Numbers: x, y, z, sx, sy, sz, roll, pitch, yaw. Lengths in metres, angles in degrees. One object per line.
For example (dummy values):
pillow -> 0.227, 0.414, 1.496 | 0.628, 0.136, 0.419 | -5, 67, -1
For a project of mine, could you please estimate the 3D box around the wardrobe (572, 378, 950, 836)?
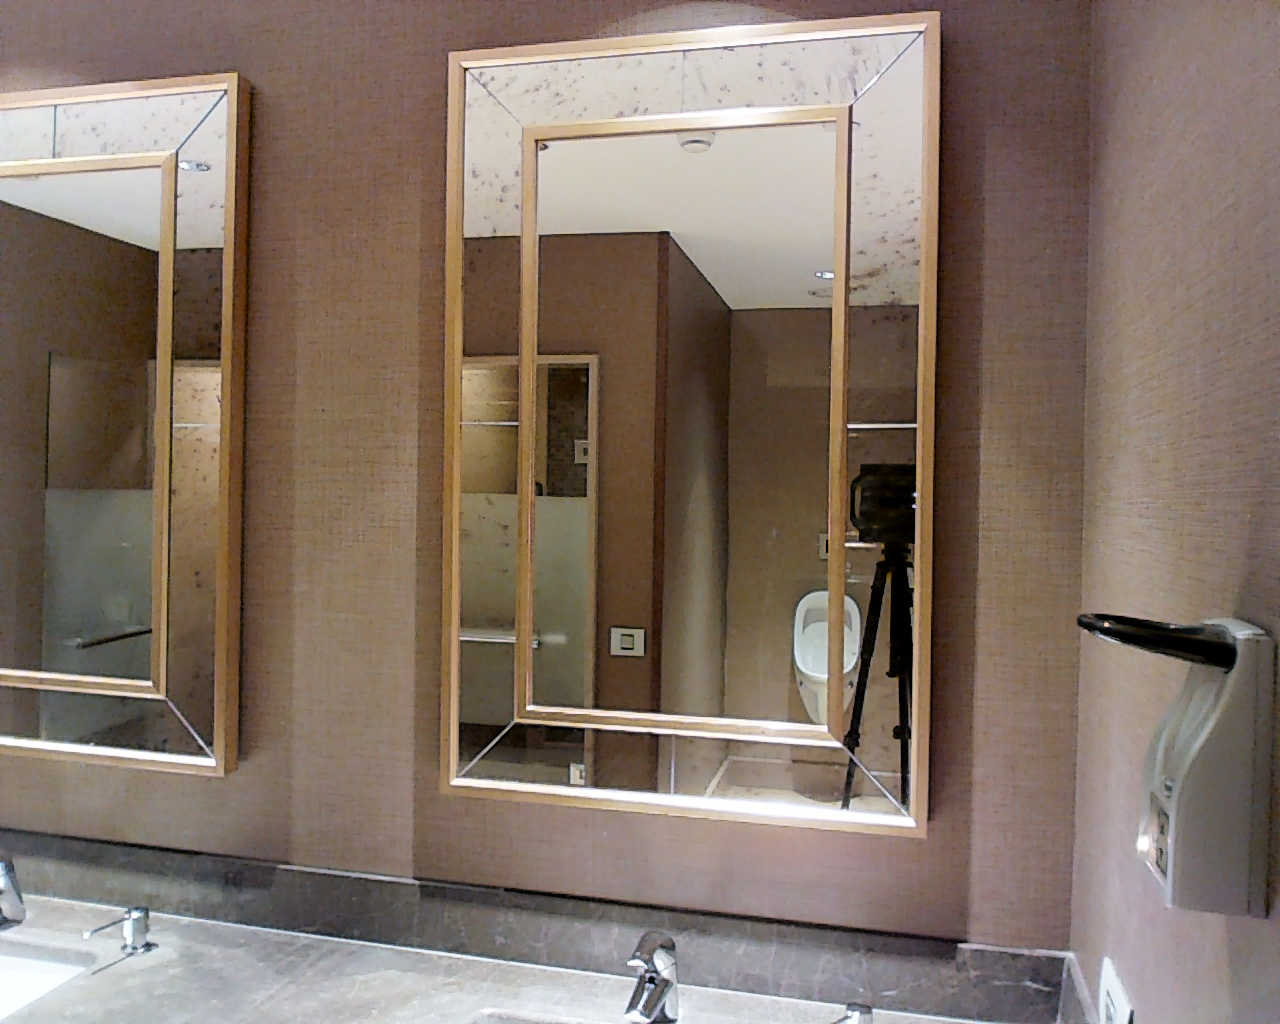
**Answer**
wardrobe -> 0.590, 0.440, 5.510 | 1.860, 2.210, 0.210 | 1, 1, 14
